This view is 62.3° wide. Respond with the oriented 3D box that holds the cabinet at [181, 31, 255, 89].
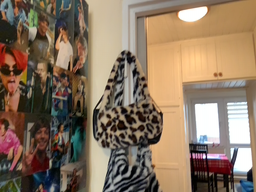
[{"bbox_3d":[1.090,-0.410,2.630,0.800,0.550,0.380,-3,-8,19],"label":"cabinet"}]
